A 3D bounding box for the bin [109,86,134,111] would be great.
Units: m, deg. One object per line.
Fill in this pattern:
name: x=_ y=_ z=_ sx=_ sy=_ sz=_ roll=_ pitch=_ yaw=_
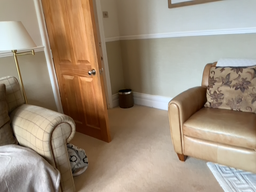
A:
bin: x=-0.110 y=0.040 z=3.530 sx=0.290 sy=0.300 sz=0.280 roll=-17 pitch=22 yaw=-32
